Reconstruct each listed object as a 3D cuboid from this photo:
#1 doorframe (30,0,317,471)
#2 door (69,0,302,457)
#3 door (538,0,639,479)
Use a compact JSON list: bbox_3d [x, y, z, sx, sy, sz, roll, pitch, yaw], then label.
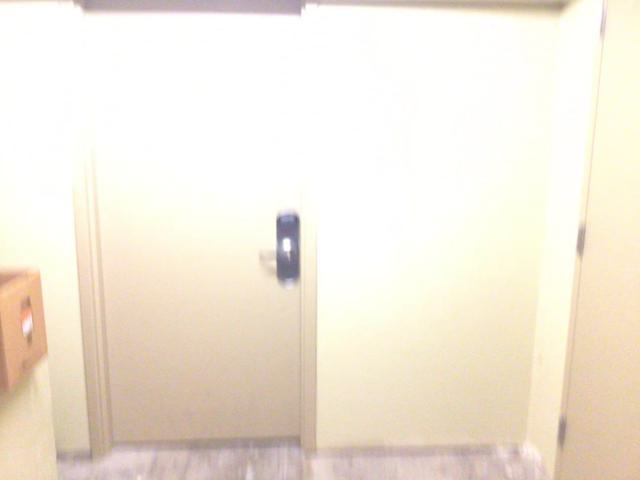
[{"bbox_3d":[-0.540,-0.030,2.400,1.010,2.030,0.190,-2,12,-3],"label":"doorframe"},{"bbox_3d":[-0.520,-0.060,2.470,0.840,2.040,0.170,-2,12,-3],"label":"door"},{"bbox_3d":[0.970,0.040,1.670,0.130,2.240,0.980,-2,12,-3],"label":"door"}]
